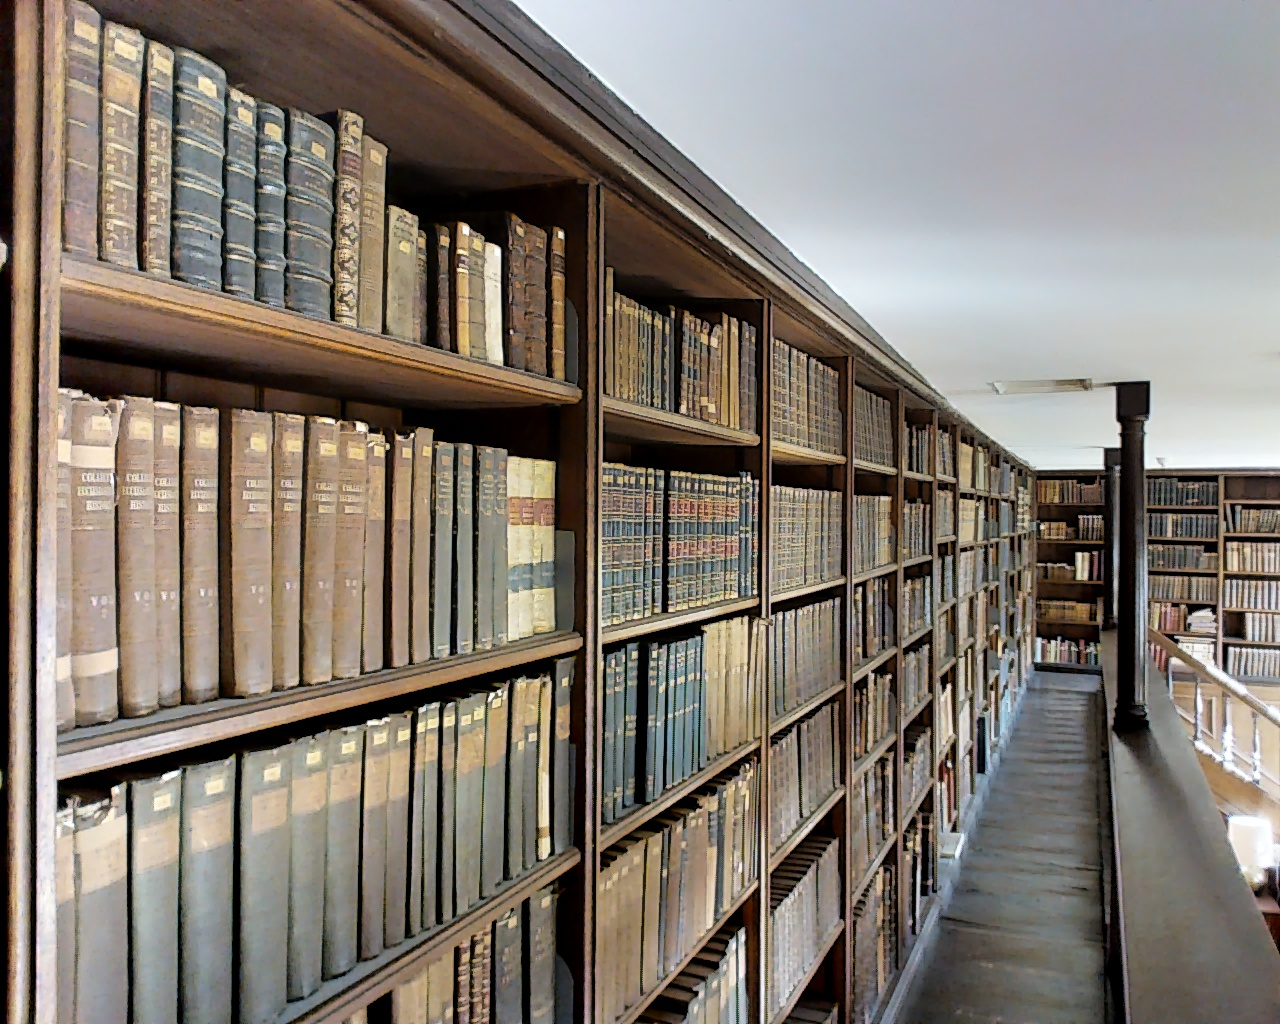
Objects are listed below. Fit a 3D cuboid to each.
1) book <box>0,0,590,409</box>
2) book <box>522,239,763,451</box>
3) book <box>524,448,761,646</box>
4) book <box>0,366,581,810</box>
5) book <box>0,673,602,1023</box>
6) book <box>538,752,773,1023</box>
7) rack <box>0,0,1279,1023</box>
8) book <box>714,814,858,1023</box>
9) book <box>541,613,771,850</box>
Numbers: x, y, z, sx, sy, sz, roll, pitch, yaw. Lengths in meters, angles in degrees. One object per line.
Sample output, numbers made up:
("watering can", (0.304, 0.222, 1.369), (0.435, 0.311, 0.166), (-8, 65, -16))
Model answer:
("book", (-0.270, -0.250, 1.040), (0.130, 0.220, 0.750), (0, -1, 23))
("book", (0.040, -0.240, 1.770), (0.120, 0.230, 0.740), (-1, -1, 23))
("book", (0.040, 0.050, 1.780), (0.110, 0.260, 0.750), (0, -1, 23))
("book", (-0.280, 0.050, 1.030), (0.120, 0.270, 0.770), (0, -1, 23))
("book", (-0.250, 0.330, 1.020), (0.110, 0.250, 0.760), (0, -1, 23))
("book", (0.060, 0.590, 1.760), (0.120, 0.240, 0.730), (0, -1, 23))
("rack", (1.989, 0.580, 5.480), (0.840, 2.071, 12.349), (0, -1, 23))
("book", (0.360, 0.950, 2.500), (0.150, 0.300, 0.710), (0, -1, 23))
("book", (0.060, 0.320, 1.760), (0.110, 0.250, 0.730), (0, -1, 23))
